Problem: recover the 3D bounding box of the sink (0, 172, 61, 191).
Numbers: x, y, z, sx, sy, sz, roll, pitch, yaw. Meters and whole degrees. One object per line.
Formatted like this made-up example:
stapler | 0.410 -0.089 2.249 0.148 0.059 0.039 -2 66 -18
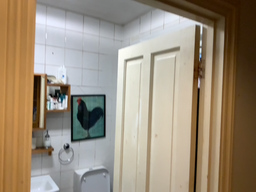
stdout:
sink | -0.960 0.880 1.930 0.560 0.140 0.430 2 1 -34
